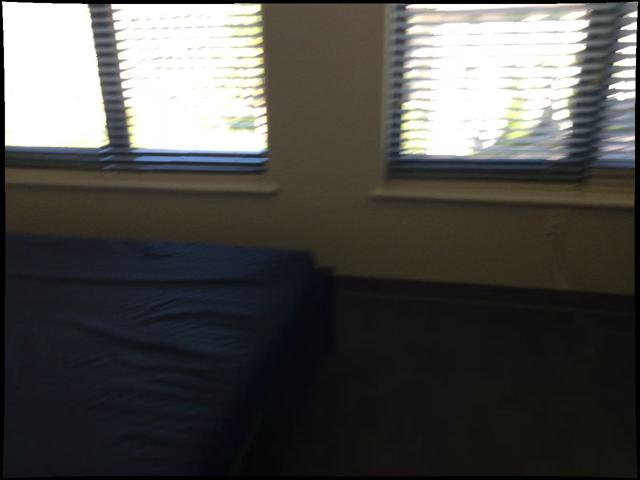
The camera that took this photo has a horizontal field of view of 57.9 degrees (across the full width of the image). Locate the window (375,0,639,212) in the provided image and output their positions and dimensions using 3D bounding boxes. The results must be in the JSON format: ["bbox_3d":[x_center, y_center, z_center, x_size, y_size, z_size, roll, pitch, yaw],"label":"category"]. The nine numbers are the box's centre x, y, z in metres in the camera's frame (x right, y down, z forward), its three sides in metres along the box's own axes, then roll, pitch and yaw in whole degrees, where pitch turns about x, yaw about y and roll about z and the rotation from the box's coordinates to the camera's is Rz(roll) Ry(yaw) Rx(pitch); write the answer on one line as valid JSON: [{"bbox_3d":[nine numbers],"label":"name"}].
[{"bbox_3d":[1.139,-0.701,2.220,1.808,1.101,0.420,2,27,11],"label":"window"}]

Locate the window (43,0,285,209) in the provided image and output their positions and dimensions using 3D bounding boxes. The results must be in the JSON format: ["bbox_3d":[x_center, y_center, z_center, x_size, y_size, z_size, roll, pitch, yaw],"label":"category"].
[{"bbox_3d":[-0.669,-0.631,2.660,0.899,0.931,0.260,2,27,11],"label":"window"}]
